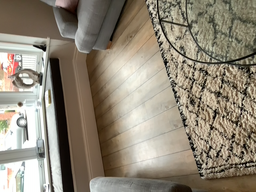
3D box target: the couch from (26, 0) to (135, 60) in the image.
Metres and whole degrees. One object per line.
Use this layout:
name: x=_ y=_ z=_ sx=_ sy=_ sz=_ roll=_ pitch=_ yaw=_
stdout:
couch: x=-0.610 y=-1.240 z=2.480 sx=1.060 sy=0.870 sz=1.120 roll=-57 pitch=46 yaw=40
